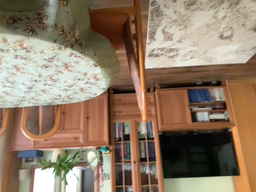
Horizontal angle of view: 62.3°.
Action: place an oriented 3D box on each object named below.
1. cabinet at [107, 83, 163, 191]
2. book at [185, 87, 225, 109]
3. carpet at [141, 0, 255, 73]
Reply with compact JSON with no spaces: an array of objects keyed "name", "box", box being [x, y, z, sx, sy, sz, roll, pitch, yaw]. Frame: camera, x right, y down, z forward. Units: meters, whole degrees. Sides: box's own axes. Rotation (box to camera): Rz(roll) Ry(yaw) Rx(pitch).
[{"name":"cabinet","box":[0.090,0.810,3.390,0.780,1.970,0.420,-2,162,2]},{"name":"book","box":[1.220,0.030,3.390,0.550,0.300,0.140,-2,162,1]},{"name":"carpet","box":[0.960,-0.690,1.990,1.620,0.030,2.070,-2,162,1]}]
